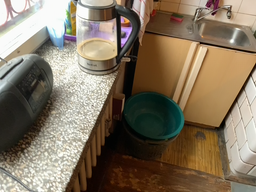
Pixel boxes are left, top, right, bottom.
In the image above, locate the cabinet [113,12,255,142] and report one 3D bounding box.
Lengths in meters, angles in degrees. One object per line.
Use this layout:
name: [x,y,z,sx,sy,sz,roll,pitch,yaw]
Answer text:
cabinet: [0.410,-0.170,1.850,0.920,0.760,0.600,12,42,6]
